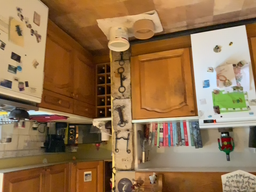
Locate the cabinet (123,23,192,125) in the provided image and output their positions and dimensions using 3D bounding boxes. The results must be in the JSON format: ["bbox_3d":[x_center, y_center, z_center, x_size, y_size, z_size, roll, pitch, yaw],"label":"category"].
[{"bbox_3d":[0.340,-0.200,2.420,0.660,1.000,0.460,-5,168,15],"label":"cabinet"}]
